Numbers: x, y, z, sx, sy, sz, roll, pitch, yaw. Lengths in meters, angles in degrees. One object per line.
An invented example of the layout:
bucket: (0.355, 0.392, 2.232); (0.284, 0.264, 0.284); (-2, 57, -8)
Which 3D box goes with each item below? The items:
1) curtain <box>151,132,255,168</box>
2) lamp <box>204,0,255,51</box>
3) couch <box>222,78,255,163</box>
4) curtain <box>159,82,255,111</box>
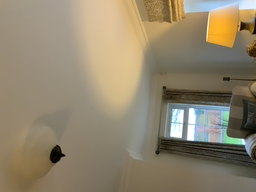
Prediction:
curtain: (1.630, 1.080, 4.240); (0.170, 2.280, 0.400); (53, -136, -64)
lamp: (1.320, -0.840, 2.470); (0.460, 0.760, 0.450); (51, -134, -65)
couch: (2.010, 0.310, 3.190); (1.030, 0.920, 1.090); (-18, -69, -71)
curtain: (1.830, 0.000, 4.560); (0.120, 2.250, 0.470); (53, -136, -64)
